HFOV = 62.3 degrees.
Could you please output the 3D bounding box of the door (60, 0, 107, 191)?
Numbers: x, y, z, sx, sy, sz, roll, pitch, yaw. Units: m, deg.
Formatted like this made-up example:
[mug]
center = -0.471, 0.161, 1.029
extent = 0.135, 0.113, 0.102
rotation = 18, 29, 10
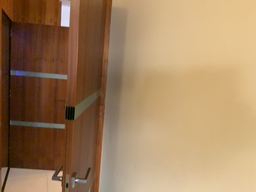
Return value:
[door]
center = -0.280, 0.400, 1.350
extent = 0.060, 2.140, 0.780
rotation = 5, 8, -1
